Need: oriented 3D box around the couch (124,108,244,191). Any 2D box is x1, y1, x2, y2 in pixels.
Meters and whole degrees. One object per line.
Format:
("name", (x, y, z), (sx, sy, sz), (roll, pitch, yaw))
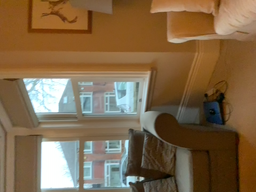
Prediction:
("couch", (0.480, 0.930, 2.250), (0.950, 0.960, 1.570), (152, 117, -85))
